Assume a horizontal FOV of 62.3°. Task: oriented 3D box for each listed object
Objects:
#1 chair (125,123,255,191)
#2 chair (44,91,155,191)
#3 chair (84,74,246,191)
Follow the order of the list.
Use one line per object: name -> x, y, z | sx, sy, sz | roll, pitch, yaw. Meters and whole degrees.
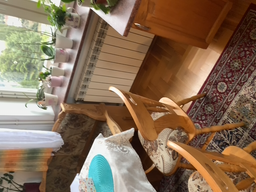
chair -> 0.510, 0.470, 1.040 | 0.430, 0.890, 0.500 | 53, 128, 43
chair -> -0.340, 0.470, 2.280 | 0.560, 0.830, 0.810 | 54, 128, 43
chair -> 0.250, 0.230, 1.440 | 0.430, 0.890, 0.500 | 53, 128, 43
